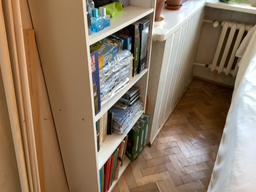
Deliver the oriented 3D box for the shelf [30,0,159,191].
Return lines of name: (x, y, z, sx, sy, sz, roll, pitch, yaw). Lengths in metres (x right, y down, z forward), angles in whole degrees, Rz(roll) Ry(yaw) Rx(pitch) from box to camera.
shelf: (-0.100, -0.180, 1.080, 0.230, 1.810, 0.620, 19, 38, 21)

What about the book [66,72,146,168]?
book: (-0.100, 0.110, 1.290, 0.180, 0.270, 0.560, 19, 38, 21)

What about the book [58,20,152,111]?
book: (-0.080, -0.190, 1.080, 0.200, 0.240, 0.520, 19, 38, 20)
